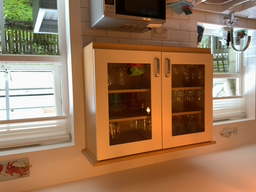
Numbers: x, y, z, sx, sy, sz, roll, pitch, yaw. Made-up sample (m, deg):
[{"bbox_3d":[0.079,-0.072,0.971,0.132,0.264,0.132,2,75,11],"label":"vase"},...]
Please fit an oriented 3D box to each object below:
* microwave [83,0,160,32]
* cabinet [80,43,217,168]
[{"bbox_3d":[-0.060,-0.640,1.500,0.430,0.270,0.360,-3,-175,-23],"label":"microwave"},{"bbox_3d":[0.200,0.030,1.700,1.070,0.800,0.300,-4,-175,-25],"label":"cabinet"}]
